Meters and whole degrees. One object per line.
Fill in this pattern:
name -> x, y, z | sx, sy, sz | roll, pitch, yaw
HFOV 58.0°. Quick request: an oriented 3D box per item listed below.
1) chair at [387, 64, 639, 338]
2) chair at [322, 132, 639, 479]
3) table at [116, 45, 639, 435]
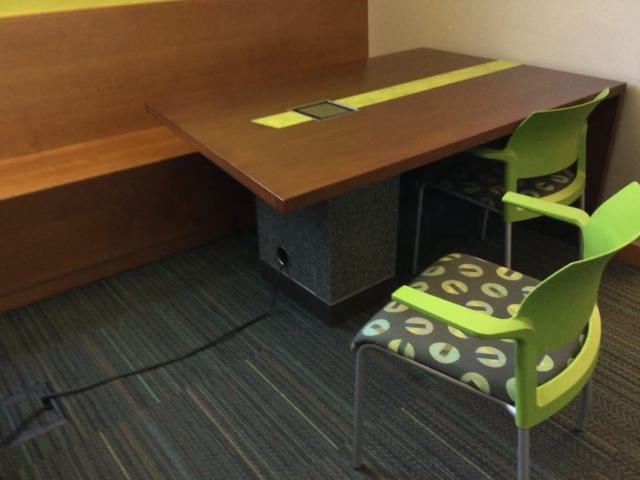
chair -> 0.710, -0.200, 2.220 | 0.680, 0.780, 0.550 | -20, 32, -34
chair -> 0.450, 0.250, 1.410 | 0.600, 0.790, 0.720 | 14, 30, 28
table -> 0.250, -0.220, 2.290 | 1.610, 0.800, 1.080 | -20, 32, -34
